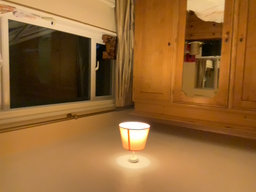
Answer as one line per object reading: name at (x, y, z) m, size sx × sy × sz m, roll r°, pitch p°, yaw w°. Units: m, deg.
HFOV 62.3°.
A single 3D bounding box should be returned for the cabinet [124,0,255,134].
cabinet at (0.950, -0.770, 2.600) m, size 1.870 × 2.140 × 0.670 m, roll 6°, pitch -173°, yaw 33°
